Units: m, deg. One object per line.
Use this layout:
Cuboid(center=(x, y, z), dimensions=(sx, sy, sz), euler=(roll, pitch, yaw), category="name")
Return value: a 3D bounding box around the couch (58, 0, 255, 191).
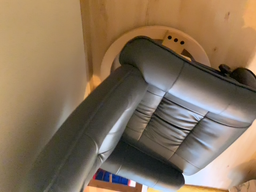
Cuboid(center=(0.240, 0.220, 0.930), dimensions=(0.830, 1.000, 0.740), euler=(20, 129, -7), category="couch")
